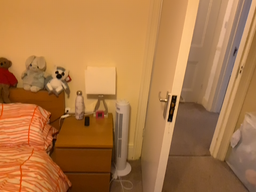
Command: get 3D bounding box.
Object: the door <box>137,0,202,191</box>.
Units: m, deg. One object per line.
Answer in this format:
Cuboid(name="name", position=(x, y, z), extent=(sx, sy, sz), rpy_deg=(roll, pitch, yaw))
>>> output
Cuboid(name="door", position=(0.230, -0.090, 1.520), extent=(0.060, 2.050, 0.820), rpy_deg=(4, 24, -4))
